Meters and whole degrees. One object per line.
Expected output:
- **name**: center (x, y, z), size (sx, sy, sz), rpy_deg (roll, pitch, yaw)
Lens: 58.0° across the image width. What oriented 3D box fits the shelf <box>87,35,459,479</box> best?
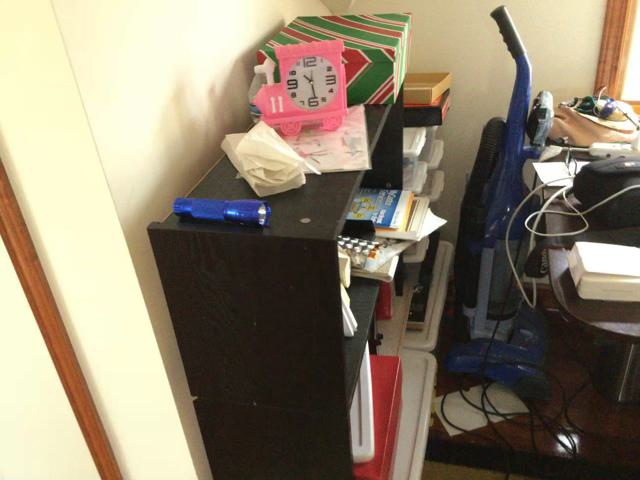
- **shelf**: center (0.060, 0.030, 1.360), size (0.380, 0.750, 1.030), rpy_deg (2, 31, 20)
